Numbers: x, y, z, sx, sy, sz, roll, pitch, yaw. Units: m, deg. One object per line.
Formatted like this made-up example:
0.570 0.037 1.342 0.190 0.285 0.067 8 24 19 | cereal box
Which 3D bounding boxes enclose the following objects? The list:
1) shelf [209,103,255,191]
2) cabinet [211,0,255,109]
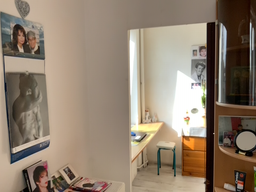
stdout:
0.760 0.730 1.450 0.370 1.320 0.310 1 5 18 | shelf
0.750 -0.300 1.360 0.370 0.730 0.310 1 5 18 | cabinet
